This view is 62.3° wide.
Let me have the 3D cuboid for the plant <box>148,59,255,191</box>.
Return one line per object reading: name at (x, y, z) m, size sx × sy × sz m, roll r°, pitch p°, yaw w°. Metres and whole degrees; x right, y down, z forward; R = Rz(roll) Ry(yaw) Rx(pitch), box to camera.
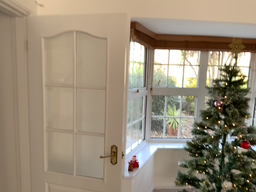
plant at (0.840, 0.530, 2.450) m, size 1.020 × 1.810 × 1.080 m, roll 2°, pitch 8°, yaw -1°
